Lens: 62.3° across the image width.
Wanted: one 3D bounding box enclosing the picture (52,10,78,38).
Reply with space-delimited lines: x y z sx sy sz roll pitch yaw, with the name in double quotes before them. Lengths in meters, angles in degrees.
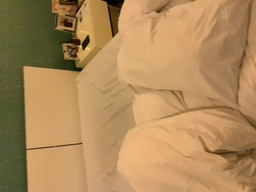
"picture" -0.750 -0.840 2.500 0.190 0.230 0.190 -31 64 49
